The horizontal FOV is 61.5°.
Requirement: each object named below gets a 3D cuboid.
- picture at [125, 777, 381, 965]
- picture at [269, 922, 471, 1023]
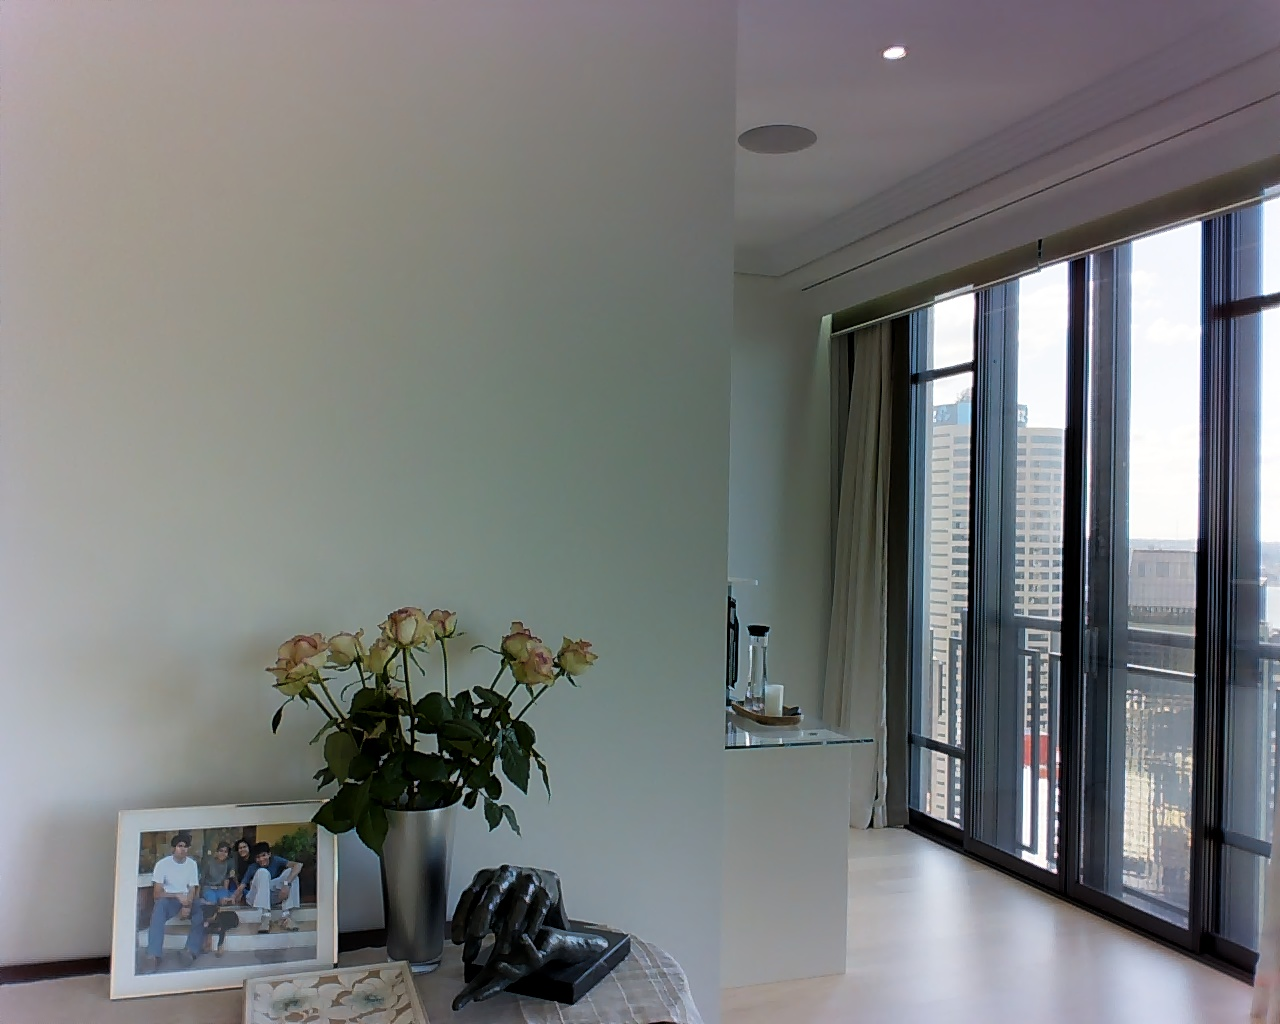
[{"bbox_3d":[-0.560,0.520,1.570,0.340,0.250,0.050,2,15,-18],"label":"picture"},{"bbox_3d":[-0.370,0.630,1.440,0.240,0.040,0.270,1,0,-19],"label":"picture"}]
